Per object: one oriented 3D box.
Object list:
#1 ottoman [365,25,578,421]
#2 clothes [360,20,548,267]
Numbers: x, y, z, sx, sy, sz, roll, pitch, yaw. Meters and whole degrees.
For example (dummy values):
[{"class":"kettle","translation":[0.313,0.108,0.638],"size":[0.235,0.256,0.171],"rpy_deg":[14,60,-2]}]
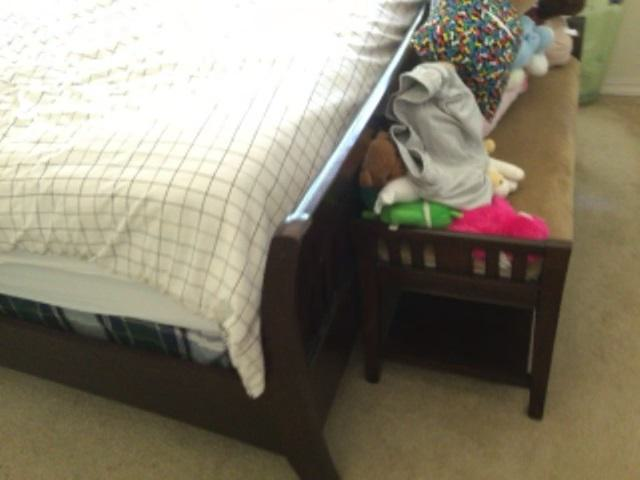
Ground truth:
[{"class":"ottoman","translation":[0.500,-0.150,1.660],"size":[0.370,0.450,1.170],"rpy_deg":[5,43,22]},{"class":"clothes","translation":[0.300,-0.230,1.220],"size":[0.280,0.280,0.490],"rpy_deg":[8,43,20]}]
